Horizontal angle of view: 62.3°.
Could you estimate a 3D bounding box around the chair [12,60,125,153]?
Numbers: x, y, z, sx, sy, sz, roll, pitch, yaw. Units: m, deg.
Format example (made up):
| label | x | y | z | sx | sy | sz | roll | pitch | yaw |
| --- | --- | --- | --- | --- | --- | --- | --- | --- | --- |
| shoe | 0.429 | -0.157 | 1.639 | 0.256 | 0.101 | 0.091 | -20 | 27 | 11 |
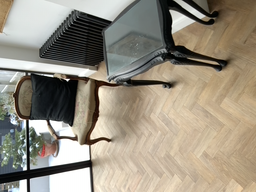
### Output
| label | x | y | z | sx | sy | sz | roll | pitch | yaw |
| --- | --- | --- | --- | --- | --- | --- | --- | --- | --- |
| chair | -0.630 | 0.080 | 2.200 | 0.660 | 0.840 | 0.660 | 27 | 108 | 48 |
